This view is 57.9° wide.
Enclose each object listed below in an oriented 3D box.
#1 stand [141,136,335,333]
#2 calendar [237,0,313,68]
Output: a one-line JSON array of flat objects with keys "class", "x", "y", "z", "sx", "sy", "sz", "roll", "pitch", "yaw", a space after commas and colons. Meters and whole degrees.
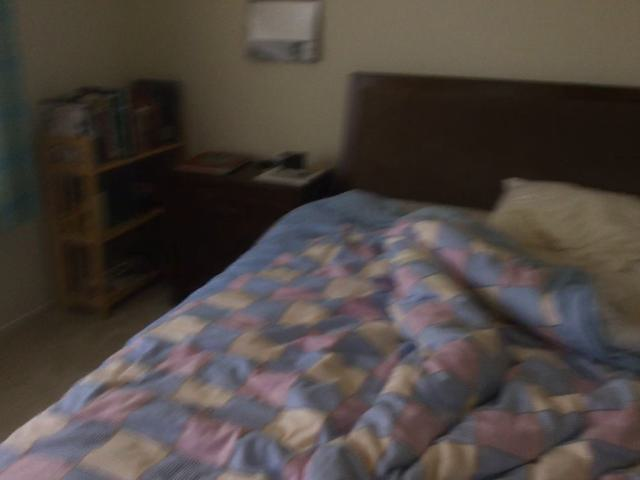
[{"class": "stand", "x": -0.360, "y": -0.060, "z": 2.680, "sx": 0.720, "sy": 0.710, "sz": 0.450, "roll": 10, "pitch": 22, "yaw": 22}, {"class": "calendar", "x": -0.200, "y": -0.910, "z": 2.540, "sx": 0.340, "sy": 0.280, "sz": 0.060, "roll": 10, "pitch": 22, "yaw": 22}]
